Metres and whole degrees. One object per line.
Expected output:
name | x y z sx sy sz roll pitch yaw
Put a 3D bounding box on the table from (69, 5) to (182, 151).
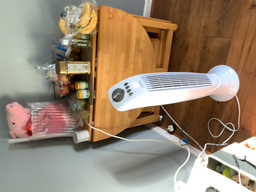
table | -0.030 -0.150 1.650 0.360 0.720 0.910 24 114 48
